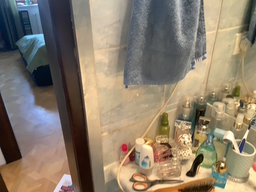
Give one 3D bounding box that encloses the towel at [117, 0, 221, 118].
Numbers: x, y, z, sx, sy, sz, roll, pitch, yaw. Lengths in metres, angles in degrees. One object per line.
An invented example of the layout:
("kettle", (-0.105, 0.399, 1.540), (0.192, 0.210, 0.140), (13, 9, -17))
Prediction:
("towel", (0.100, -0.230, 0.510), (0.230, 0.540, 0.110), (-15, 33, -25))
